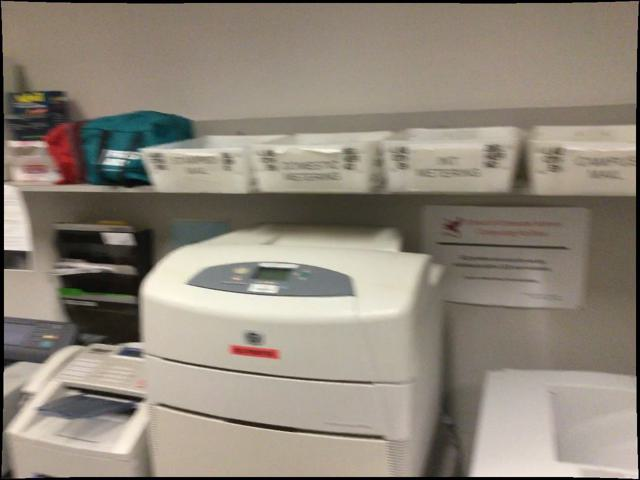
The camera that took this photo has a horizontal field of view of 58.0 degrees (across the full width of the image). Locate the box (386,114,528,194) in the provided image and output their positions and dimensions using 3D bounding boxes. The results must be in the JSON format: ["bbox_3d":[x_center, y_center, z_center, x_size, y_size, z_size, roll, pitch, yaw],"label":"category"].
[{"bbox_3d":[0.329,-0.211,1.360,0.279,0.150,0.380,1,13,17],"label":"box"}]

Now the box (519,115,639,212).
[{"bbox_3d":[0.628,-0.180,1.270,0.339,0.170,0.410,1,13,17],"label":"box"}]

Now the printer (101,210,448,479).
[{"bbox_3d":[-0.030,0.301,1.390,0.619,0.651,0.610,1,13,17],"label":"printer"}]

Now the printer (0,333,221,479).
[{"bbox_3d":[-0.549,0.471,1.490,0.439,0.321,0.360,1,13,17],"label":"printer"}]
